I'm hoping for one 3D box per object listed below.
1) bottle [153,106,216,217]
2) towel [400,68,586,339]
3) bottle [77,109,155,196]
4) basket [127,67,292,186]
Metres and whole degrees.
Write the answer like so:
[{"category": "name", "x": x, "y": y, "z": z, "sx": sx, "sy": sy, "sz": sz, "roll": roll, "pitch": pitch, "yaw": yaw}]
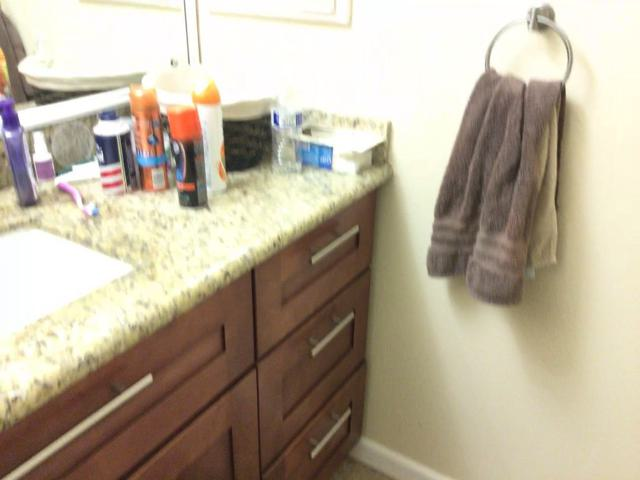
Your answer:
[{"category": "bottle", "x": -0.240, "y": -0.140, "z": 1.030, "sx": 0.080, "sy": 0.180, "sz": 0.050, "roll": 15, "pitch": 27, "yaw": 32}, {"category": "towel", "x": 0.320, "y": -0.080, "z": 1.120, "sx": 0.260, "sy": 0.460, "sz": 0.160, "roll": 15, "pitch": 27, "yaw": 32}, {"category": "bottle", "x": -0.390, "y": -0.170, "z": 1.110, "sx": 0.100, "sy": 0.140, "sz": 0.080, "roll": 15, "pitch": 27, "yaw": 32}, {"category": "basket", "x": -0.260, "y": -0.280, "z": 1.340, "sx": 0.250, "sy": 0.190, "sz": 0.330, "roll": -15, "pitch": 27, "yaw": -30}]
